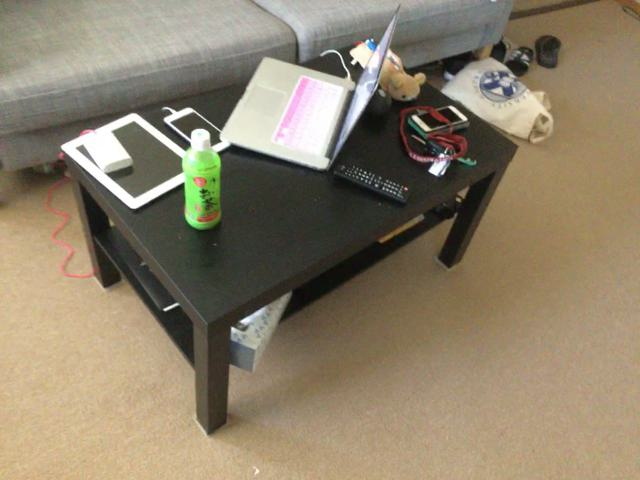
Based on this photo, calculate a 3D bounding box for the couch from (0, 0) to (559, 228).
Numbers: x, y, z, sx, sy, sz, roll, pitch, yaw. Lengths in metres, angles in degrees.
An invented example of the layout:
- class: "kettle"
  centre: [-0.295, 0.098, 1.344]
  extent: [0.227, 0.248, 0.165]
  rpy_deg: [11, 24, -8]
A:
- class: "couch"
  centre: [-0.280, -0.880, 1.910]
  extent: [2.080, 0.770, 0.960]
  rpy_deg: [-19, 53, -24]
